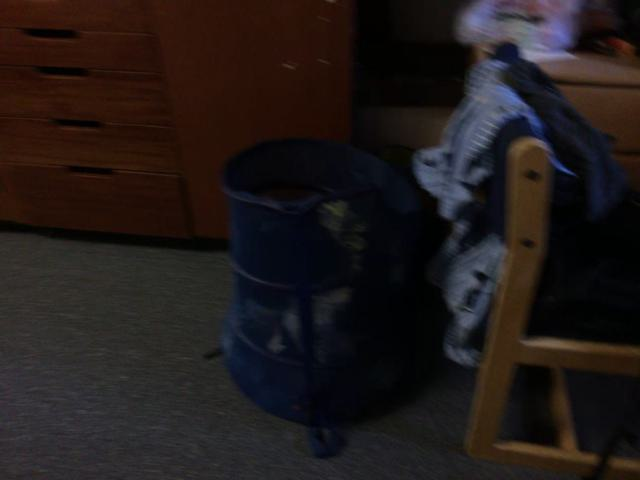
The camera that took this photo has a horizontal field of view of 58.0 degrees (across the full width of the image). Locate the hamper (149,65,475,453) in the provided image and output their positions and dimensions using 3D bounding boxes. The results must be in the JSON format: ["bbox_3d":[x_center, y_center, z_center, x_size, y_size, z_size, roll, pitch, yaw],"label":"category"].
[{"bbox_3d":[0.000,0.030,1.410,0.550,0.670,0.600,5,38,3],"label":"hamper"}]

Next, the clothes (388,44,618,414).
[{"bbox_3d":[0.310,0.000,1.190,0.260,0.680,0.330,5,38,3],"label":"clothes"}]

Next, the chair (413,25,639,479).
[{"bbox_3d":[0.550,0.050,1.260,0.570,0.800,0.580,5,38,3],"label":"chair"}]
